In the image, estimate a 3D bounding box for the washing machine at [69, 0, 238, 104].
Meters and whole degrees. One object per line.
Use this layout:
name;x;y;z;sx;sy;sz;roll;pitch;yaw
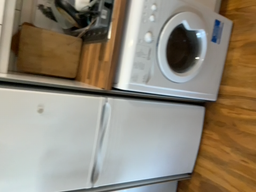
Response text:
washing machine;0.160;-0.340;1.600;0.750;0.900;0.600;17;99;55
